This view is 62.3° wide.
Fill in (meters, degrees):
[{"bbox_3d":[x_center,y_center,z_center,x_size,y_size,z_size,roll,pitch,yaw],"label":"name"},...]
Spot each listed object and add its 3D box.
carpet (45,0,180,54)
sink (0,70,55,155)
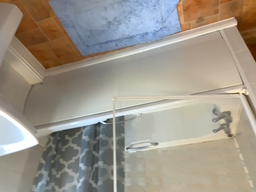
[{"bbox_3d":[-0.070,-0.530,1.420,0.800,0.040,0.430,-10,145,9],"label":"carpet"},{"bbox_3d":[-0.690,0.060,0.930,0.420,0.180,0.610,-12,144,12],"label":"sink"}]
